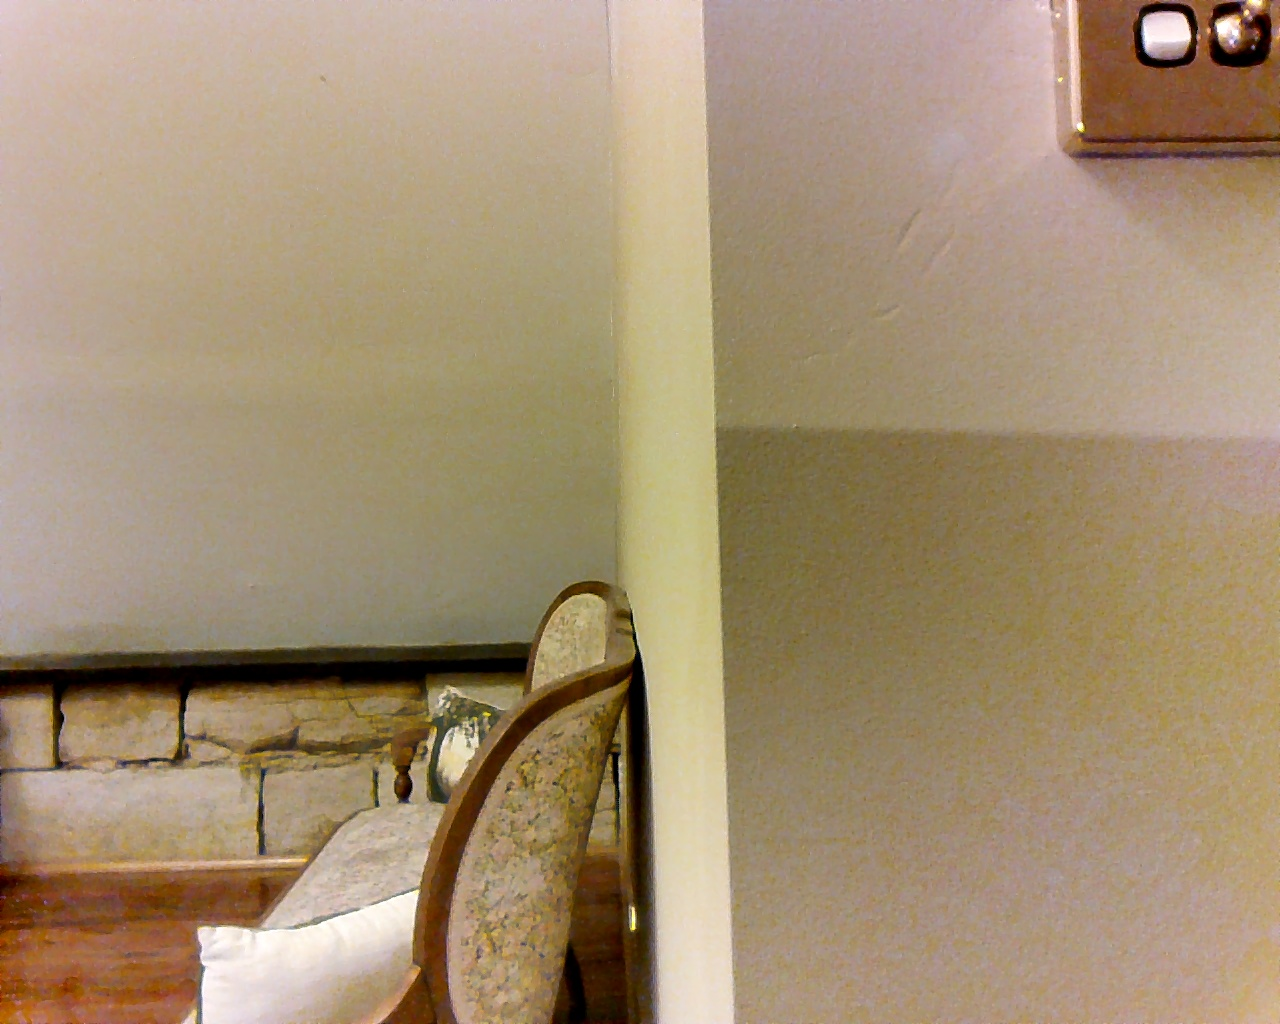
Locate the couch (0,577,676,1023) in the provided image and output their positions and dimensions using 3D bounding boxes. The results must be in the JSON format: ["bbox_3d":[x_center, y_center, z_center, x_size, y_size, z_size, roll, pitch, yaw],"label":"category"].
[{"bbox_3d":[-0.340,0.650,1.860,0.710,0.970,1.650,-1,0,-2],"label":"couch"}]
